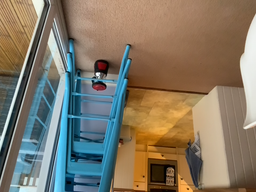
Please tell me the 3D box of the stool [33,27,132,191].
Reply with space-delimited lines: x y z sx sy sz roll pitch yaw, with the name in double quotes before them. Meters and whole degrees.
"stool" -0.240 0.140 1.420 0.420 1.030 0.500 6 155 -6
